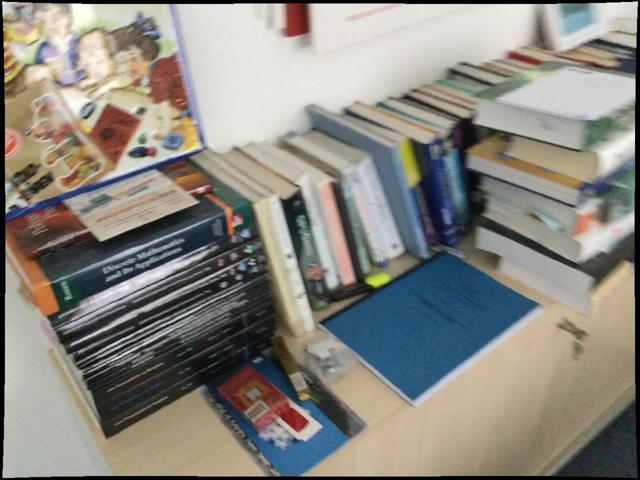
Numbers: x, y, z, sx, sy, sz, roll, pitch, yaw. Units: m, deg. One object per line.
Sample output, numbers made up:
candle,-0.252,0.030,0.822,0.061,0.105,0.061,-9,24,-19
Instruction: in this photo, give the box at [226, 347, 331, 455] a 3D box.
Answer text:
box,-0.060,0.220,0.810,0.080,0.030,0.140,-27,44,-28

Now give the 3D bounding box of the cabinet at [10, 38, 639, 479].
cabinet,0.360,0.260,1.360,1.639,0.961,0.450,-27,44,-28
